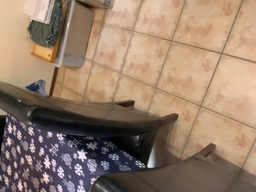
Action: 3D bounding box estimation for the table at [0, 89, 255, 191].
[{"bbox_3d":[0.000,0.740,1.280,1.630,0.890,1.030,26,105,31],"label":"table"}]

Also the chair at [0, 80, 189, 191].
[{"bbox_3d":[-0.130,0.300,1.180,0.430,1.190,0.660,15,99,33],"label":"chair"}]
